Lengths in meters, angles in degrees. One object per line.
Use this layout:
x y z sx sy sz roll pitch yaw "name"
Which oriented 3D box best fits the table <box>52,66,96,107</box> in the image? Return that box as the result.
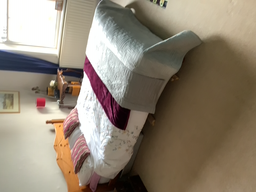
-1.160 -0.200 4.440 0.640 0.690 0.600 52 133 47 "table"
